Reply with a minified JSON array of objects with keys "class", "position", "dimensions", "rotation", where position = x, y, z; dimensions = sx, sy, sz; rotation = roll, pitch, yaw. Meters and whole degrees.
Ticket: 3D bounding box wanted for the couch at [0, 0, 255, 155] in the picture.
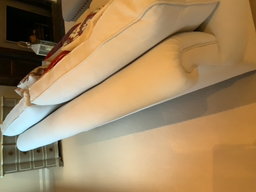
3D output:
[{"class":"couch","position":[-0.270,-0.220,1.650],"dimensions":[2.180,0.980,1.050],"rotation":[-24,69,48]}]
